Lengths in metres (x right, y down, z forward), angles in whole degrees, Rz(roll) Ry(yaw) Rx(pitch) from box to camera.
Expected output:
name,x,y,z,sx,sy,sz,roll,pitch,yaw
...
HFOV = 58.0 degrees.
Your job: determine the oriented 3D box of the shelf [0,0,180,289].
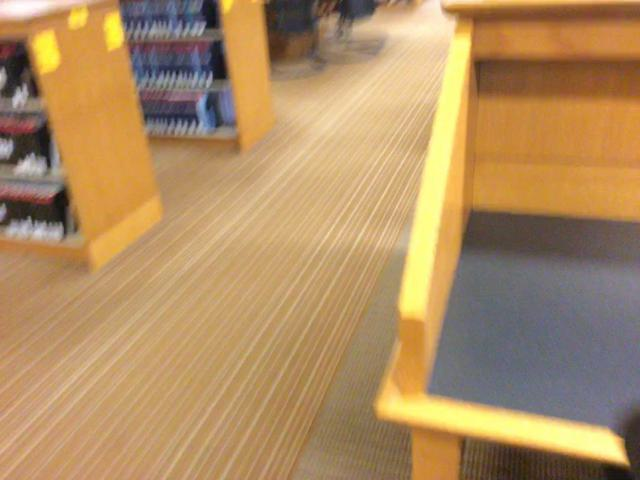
name,x,y,z,sx,sy,sz,roll,pitch,yaw
shelf,-1.340,-0.520,2.700,0.880,1.140,0.800,6,29,17
